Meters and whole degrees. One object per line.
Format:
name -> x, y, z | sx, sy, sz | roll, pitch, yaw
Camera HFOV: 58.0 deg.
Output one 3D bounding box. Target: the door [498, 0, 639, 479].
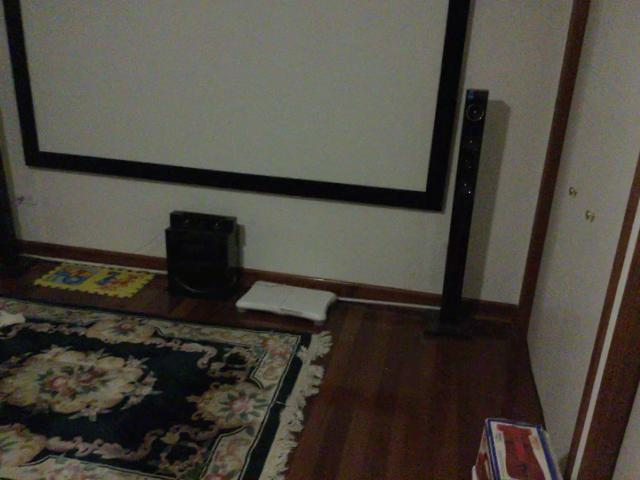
door -> 0.900, -0.070, 2.080 | 0.090, 1.620, 1.210 | 9, 21, 9
